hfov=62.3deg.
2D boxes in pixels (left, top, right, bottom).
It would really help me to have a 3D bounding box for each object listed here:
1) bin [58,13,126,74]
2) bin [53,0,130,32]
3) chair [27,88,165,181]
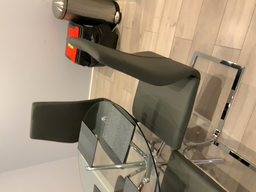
[{"bbox_3d":[-0.420,-0.580,2.390,0.430,0.550,0.520,36,120,45],"label":"bin"},{"bbox_3d":[-0.390,-0.930,2.270,0.410,0.650,0.320,36,119,45],"label":"bin"},{"bbox_3d":[-0.260,0.240,1.820,0.520,0.990,0.440,35,119,46],"label":"chair"}]
